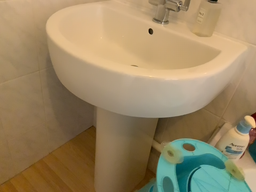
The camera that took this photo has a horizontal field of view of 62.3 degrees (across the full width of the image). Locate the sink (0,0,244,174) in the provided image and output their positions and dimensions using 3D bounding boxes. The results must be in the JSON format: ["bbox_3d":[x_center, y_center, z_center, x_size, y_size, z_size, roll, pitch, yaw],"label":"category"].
[{"bbox_3d":[-0.030,-0.140,0.730,0.640,0.200,0.470,31,41,27],"label":"sink"}]
